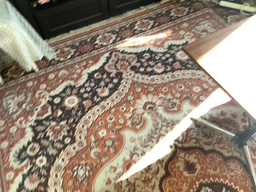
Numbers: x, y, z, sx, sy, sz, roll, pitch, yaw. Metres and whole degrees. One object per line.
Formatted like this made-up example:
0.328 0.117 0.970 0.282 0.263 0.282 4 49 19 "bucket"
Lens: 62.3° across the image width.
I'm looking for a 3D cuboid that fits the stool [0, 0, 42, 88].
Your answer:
-0.860 -0.360 1.450 0.290 0.480 0.310 -24 58 -14 "stool"
